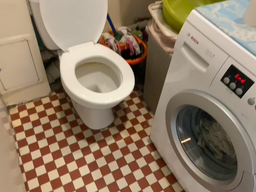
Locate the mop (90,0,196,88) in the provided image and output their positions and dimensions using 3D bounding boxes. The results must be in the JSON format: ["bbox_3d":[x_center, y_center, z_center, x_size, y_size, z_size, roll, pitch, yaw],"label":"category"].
[{"bbox_3d":[0.080,-0.430,1.580,0.610,0.510,0.330,-19,55,-21],"label":"mop"}]

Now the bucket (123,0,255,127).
[{"bbox_3d":[0.300,-0.240,1.330,0.480,0.700,0.410,-19,54,-21],"label":"bucket"}]

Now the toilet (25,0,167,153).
[{"bbox_3d":[-0.250,-0.260,1.190,0.400,0.820,0.750,-19,55,-21],"label":"toilet"}]
